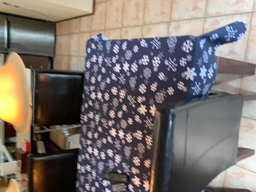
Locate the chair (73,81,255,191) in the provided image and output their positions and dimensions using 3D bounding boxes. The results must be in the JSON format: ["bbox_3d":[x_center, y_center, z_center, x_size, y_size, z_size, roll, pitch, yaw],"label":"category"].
[{"bbox_3d":[0.320,0.170,1.230,0.530,1.090,0.430,16,104,47],"label":"chair"}]
